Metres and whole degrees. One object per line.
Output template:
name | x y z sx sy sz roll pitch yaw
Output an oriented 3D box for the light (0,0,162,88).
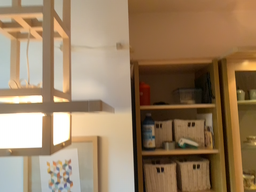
light | -0.420 -0.290 0.930 1.080 0.300 0.430 2 85 -6
